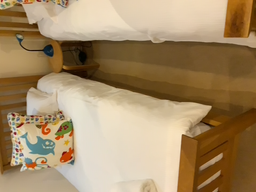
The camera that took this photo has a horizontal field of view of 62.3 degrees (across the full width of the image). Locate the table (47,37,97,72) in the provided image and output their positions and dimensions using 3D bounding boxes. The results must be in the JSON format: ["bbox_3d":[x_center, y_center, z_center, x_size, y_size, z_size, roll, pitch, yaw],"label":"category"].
[{"bbox_3d":[-0.630,-0.480,2.410,0.330,0.440,0.350,16,110,47],"label":"table"}]
